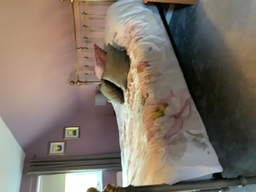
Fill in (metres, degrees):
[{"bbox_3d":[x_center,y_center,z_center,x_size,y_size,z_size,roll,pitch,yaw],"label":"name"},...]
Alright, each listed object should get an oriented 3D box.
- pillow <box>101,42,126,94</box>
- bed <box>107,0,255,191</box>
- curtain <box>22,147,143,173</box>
[{"bbox_3d":[-0.180,-0.320,2.420,0.370,0.220,0.480,-108,21,-56],"label":"pillow"},{"bbox_3d":[0.250,0.090,2.560,1.690,0.740,2.250,105,161,-53],"label":"bed"},{"bbox_3d":[-0.800,1.200,4.010,0.120,2.160,0.310,105,161,-52],"label":"curtain"}]
